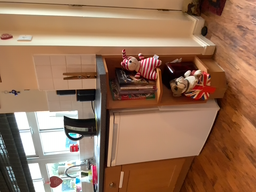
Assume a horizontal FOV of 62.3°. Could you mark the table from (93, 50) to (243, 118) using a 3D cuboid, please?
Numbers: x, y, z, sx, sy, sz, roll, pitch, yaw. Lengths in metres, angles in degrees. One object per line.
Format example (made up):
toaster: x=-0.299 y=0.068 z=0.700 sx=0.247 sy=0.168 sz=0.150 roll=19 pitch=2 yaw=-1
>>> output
table: x=0.240 y=-0.110 z=1.480 sx=0.340 sy=0.930 sz=0.300 roll=-109 pitch=21 yaw=-50
